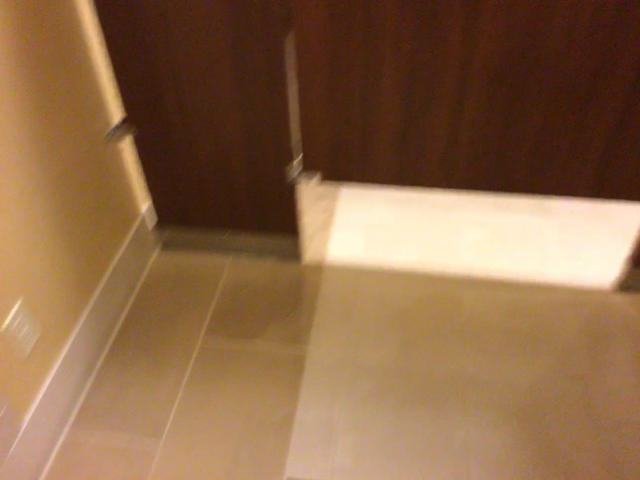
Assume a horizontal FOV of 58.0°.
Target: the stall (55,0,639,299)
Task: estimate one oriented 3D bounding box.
[{"bbox_3d":[0.420,-0.420,1.240,2.010,1.380,0.120,3,42,10],"label":"stall"}]
